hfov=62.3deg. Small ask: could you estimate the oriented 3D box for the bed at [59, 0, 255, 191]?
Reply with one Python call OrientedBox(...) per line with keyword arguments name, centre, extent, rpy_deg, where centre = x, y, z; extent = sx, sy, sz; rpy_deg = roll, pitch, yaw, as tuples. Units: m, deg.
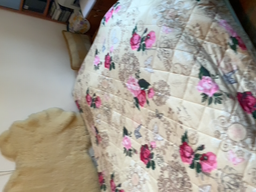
OrientedBox(name="bed", centre=(0.270, 0.300, 1.320), extent=(1.290, 0.670, 2.030), rpy_deg=(-40, 58, 42))
